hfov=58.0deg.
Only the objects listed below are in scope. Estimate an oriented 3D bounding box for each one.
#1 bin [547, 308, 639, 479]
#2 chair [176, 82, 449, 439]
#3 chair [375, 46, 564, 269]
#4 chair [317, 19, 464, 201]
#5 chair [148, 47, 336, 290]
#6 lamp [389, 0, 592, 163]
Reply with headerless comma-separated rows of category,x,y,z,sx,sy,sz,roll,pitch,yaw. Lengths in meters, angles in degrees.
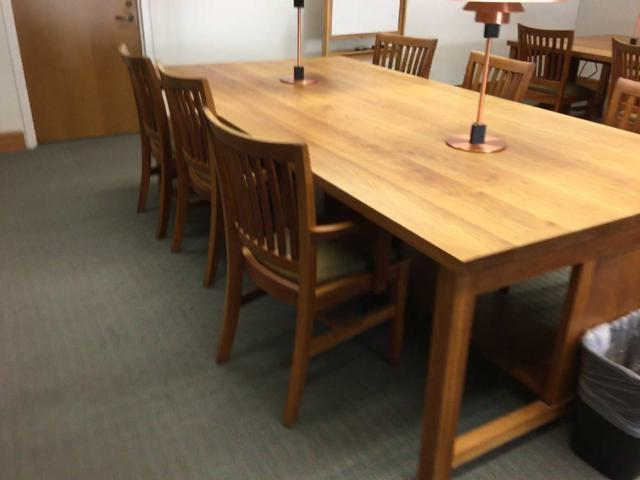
bin,0.930,0.460,1.670,0.370,0.390,0.280,-14,29,-25
chair,-0.040,0.020,1.940,0.620,0.920,0.590,-14,29,-24
chair,0.710,-0.450,2.940,0.630,0.910,0.570,-14,29,-25
chair,0.410,-0.850,3.660,0.590,0.940,0.680,-14,29,-25
chair,-0.340,-0.360,2.680,0.650,0.910,0.530,-14,29,-24
lamp,0.540,-0.610,1.940,0.390,0.530,0.480,-14,29,-25
